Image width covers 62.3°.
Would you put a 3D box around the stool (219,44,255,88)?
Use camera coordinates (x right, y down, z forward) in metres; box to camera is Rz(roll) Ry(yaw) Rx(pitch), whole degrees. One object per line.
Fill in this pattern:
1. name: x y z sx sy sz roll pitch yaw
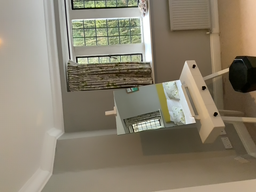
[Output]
1. stool: 1.210 -0.300 2.070 0.290 0.440 0.290 92 171 -49
